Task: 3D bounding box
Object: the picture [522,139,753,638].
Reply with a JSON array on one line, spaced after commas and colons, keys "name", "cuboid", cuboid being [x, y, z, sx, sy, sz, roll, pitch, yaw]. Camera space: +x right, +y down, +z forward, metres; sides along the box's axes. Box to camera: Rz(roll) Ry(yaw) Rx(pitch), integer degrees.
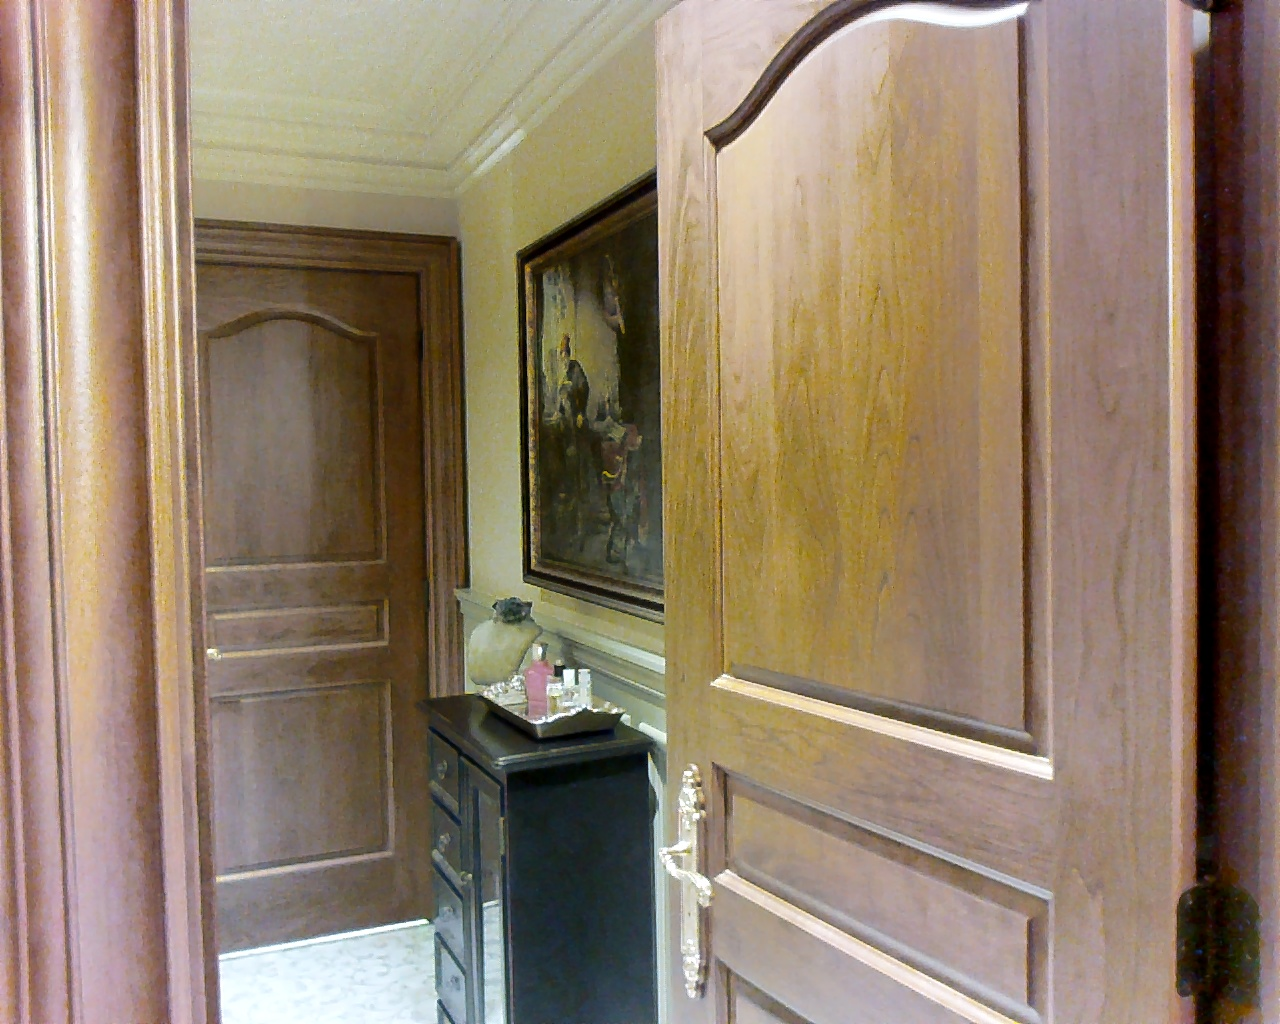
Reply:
[{"name": "picture", "cuboid": [-0.050, -0.220, 2.280, 0.080, 0.840, 0.980, -2, 2, -25]}]
